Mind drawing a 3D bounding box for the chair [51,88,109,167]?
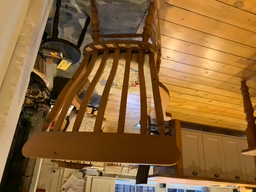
[{"bbox_3d":[-0.640,0.450,2.860,0.500,0.870,0.550,15,152,-24],"label":"chair"}]

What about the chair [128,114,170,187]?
[{"bbox_3d":[0.340,0.890,3.430,0.500,1.030,0.420,12,154,-18],"label":"chair"}]
